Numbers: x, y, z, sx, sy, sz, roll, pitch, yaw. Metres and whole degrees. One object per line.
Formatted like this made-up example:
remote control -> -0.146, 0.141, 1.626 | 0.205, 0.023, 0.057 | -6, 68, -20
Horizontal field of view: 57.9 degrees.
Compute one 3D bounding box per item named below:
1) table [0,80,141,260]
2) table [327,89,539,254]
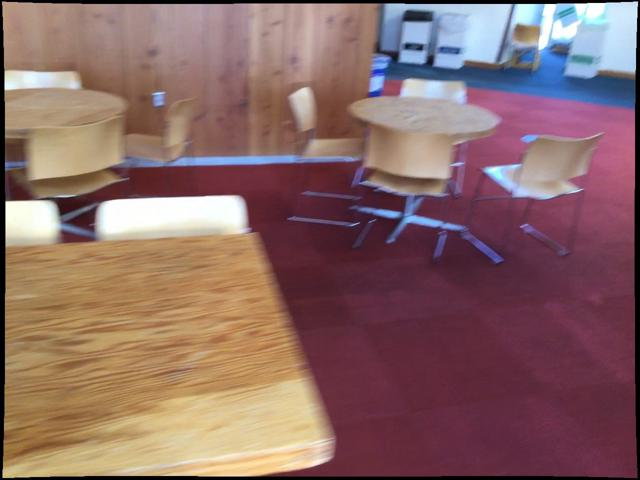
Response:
table -> -1.538, -0.440, 3.260 | 0.939, 0.731, 0.940 | -6, 25, -15
table -> 0.629, -0.480, 3.610 | 0.939, 0.741, 0.880 | -6, 25, -15
